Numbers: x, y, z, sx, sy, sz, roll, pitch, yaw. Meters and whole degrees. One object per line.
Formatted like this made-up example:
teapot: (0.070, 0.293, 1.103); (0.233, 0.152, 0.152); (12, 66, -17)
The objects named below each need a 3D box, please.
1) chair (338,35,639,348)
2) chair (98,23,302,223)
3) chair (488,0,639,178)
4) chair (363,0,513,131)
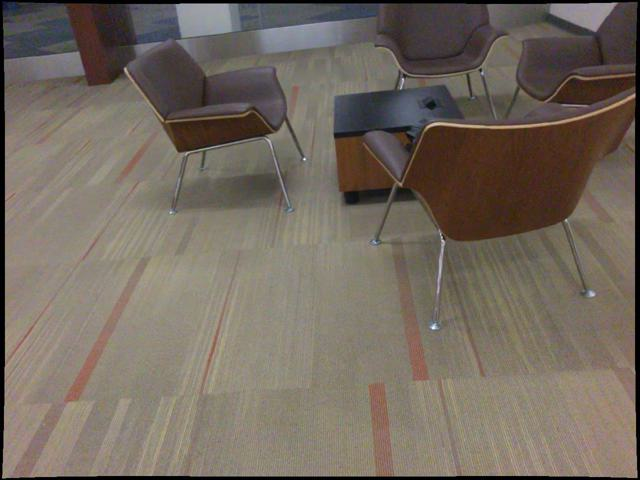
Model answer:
chair: (0.608, -0.231, 2.170); (0.868, 0.771, 0.780); (-11, 31, -5)
chair: (-0.569, -0.662, 3.160); (0.748, 0.761, 0.871); (-3, 32, 8)
chair: (1.466, -0.902, 3.100); (0.828, 0.731, 0.851); (-8, 31, -1)
chair: (0.748, -1.283, 3.900); (0.858, 0.751, 0.821); (-4, 31, 6)
